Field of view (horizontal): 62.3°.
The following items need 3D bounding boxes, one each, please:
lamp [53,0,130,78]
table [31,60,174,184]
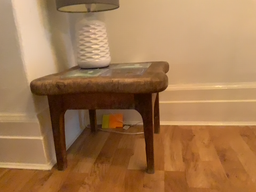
[{"bbox_3d":[-0.130,-0.320,0.830,0.210,0.450,0.240,-1,16,11],"label":"lamp"},{"bbox_3d":[-0.040,0.060,0.850,0.430,0.340,0.400,-1,17,12],"label":"table"}]
